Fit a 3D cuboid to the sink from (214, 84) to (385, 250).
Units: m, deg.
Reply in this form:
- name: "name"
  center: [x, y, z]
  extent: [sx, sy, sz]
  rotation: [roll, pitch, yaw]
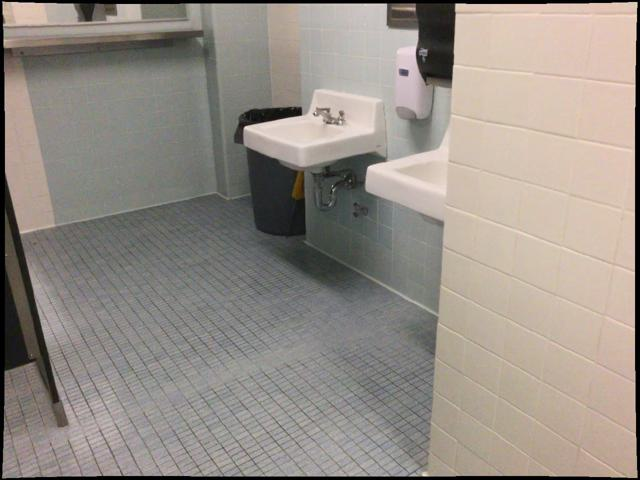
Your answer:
- name: "sink"
  center: [-0.100, -0.391, 2.780]
  extent: [0.489, 0.581, 0.680]
  rotation: [-19, 28, -33]

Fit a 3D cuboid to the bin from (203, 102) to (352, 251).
- name: "bin"
  center: [-0.259, -0.431, 3.590]
  extent: [0.609, 0.681, 0.670]
  rotation: [-19, 28, -33]
